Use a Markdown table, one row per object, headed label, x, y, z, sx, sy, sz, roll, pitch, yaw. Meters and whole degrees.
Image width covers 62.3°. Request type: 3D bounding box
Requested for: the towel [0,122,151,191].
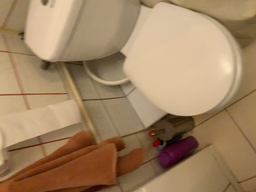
| label | x | y | z | sx | sy | sz | roll | pitch | yaw |
| --- | --- | --- | --- | --- | --- | --- | --- | --- | --- |
| towel | -0.170 | 0.220 | 0.640 | 0.130 | 0.590 | 0.160 | -42 | 67 | 30 |
